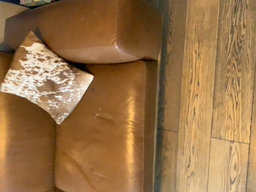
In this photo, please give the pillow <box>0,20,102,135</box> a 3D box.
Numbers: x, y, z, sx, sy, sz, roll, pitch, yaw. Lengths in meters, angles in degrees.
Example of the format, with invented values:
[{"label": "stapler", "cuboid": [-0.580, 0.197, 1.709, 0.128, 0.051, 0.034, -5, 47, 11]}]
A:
[{"label": "pillow", "cuboid": [-0.460, -0.080, 1.160, 0.460, 0.440, 0.130, -33, 27, 10]}]
